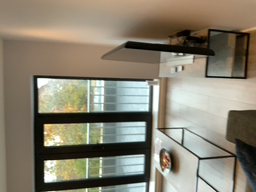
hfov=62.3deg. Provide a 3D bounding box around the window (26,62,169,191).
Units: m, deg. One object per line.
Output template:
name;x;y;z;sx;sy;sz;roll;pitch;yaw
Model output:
window;-0.510;1.040;3.650;0.190;2.170;2.940;-157;73;-73

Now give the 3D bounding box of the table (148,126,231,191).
table;0.640;0.770;2.530;1.060;0.440;0.540;-155;66;-74
